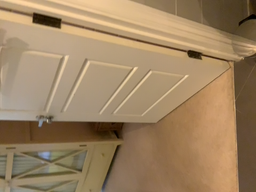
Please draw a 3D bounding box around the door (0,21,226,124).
[{"bbox_3d":[-0.460,-0.040,1.130,0.770,2.080,0.030,-51,44,46],"label":"door"}]
